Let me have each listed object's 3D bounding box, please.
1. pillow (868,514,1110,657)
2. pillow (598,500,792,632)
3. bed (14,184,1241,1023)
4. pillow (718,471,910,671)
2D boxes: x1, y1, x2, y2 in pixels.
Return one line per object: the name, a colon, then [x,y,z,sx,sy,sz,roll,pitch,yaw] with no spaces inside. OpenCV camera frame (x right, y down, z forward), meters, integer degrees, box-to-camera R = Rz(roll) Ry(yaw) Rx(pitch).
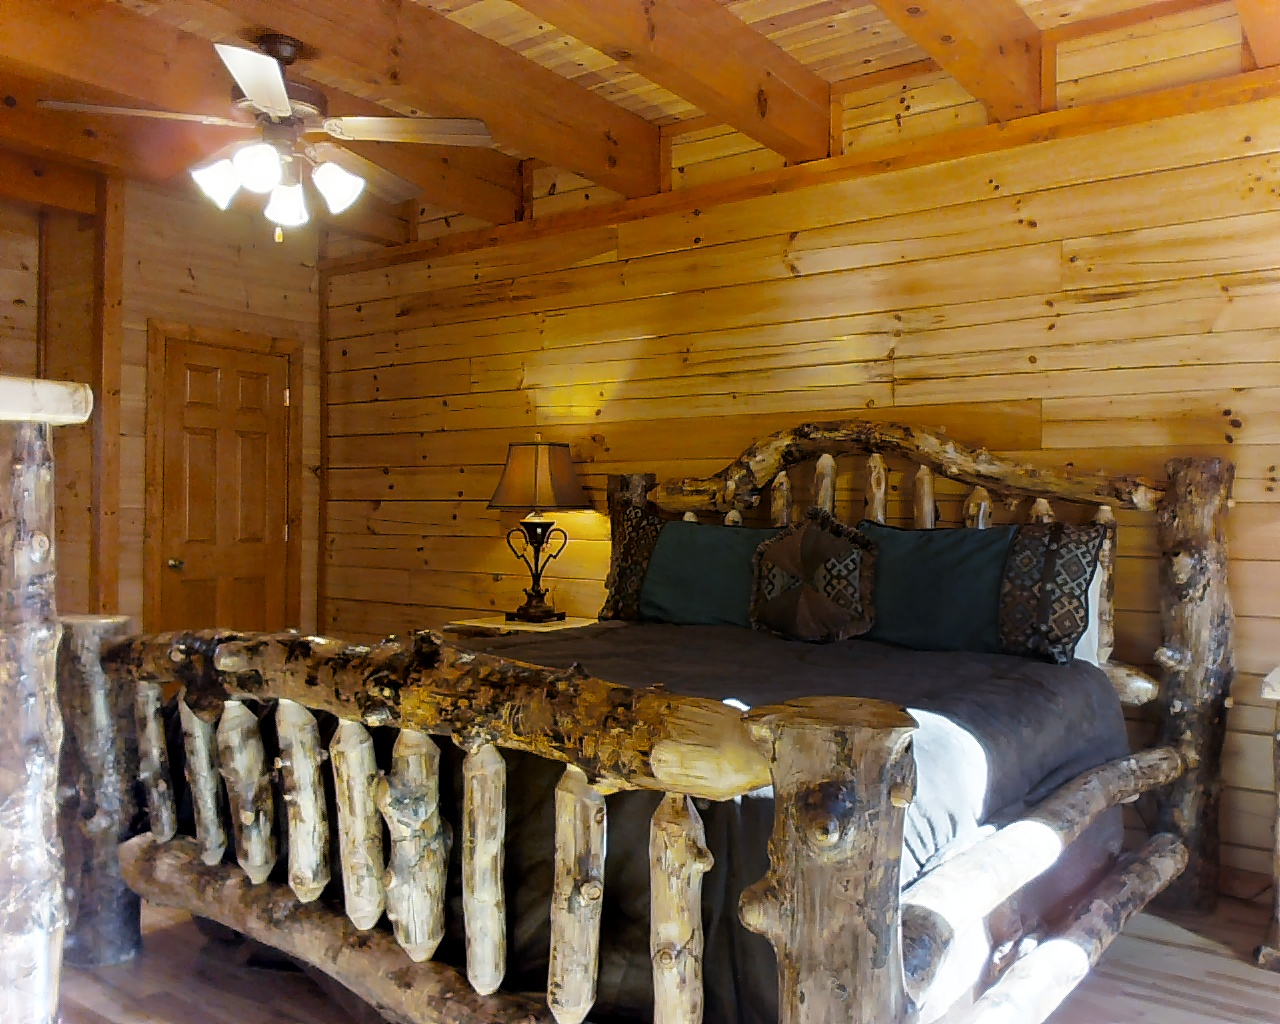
pillow: [1.090,0.210,3.400,0.680,0.410,0.250,0,0,38]
pillow: [0.200,0.190,4.050,0.690,0.460,0.260,0,0,31]
bed: [0.140,0.390,3.090,2.449,1.581,2.590,0,0,37]
pillow: [0.590,0.190,3.710,0.500,0.540,0.180,21,12,32]
